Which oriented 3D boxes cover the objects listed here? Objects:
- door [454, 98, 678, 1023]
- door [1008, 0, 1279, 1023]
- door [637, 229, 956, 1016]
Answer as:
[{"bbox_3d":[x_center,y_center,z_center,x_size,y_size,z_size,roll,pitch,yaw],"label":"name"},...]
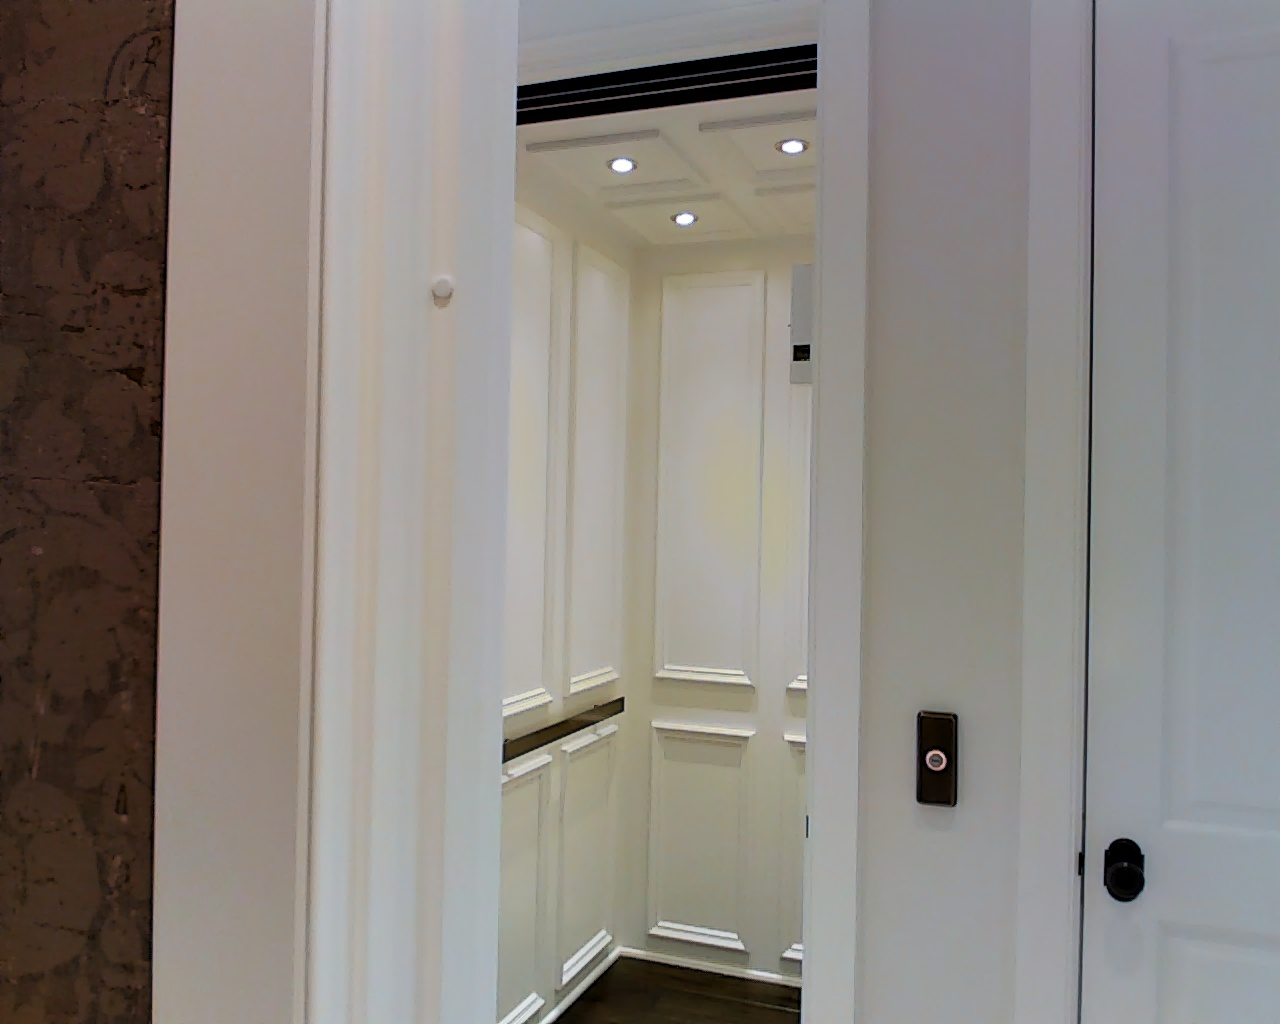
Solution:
[{"bbox_3d":[-0.160,0.260,3.160,0.090,2.491,1.250,1,-1,22],"label":"door"},{"bbox_3d":[1.150,0.200,1.660,1.080,2.631,0.090,1,-1,22],"label":"door"},{"bbox_3d":[0.490,0.330,3.510,1.020,2.421,0.040,1,-1,22],"label":"door"}]
